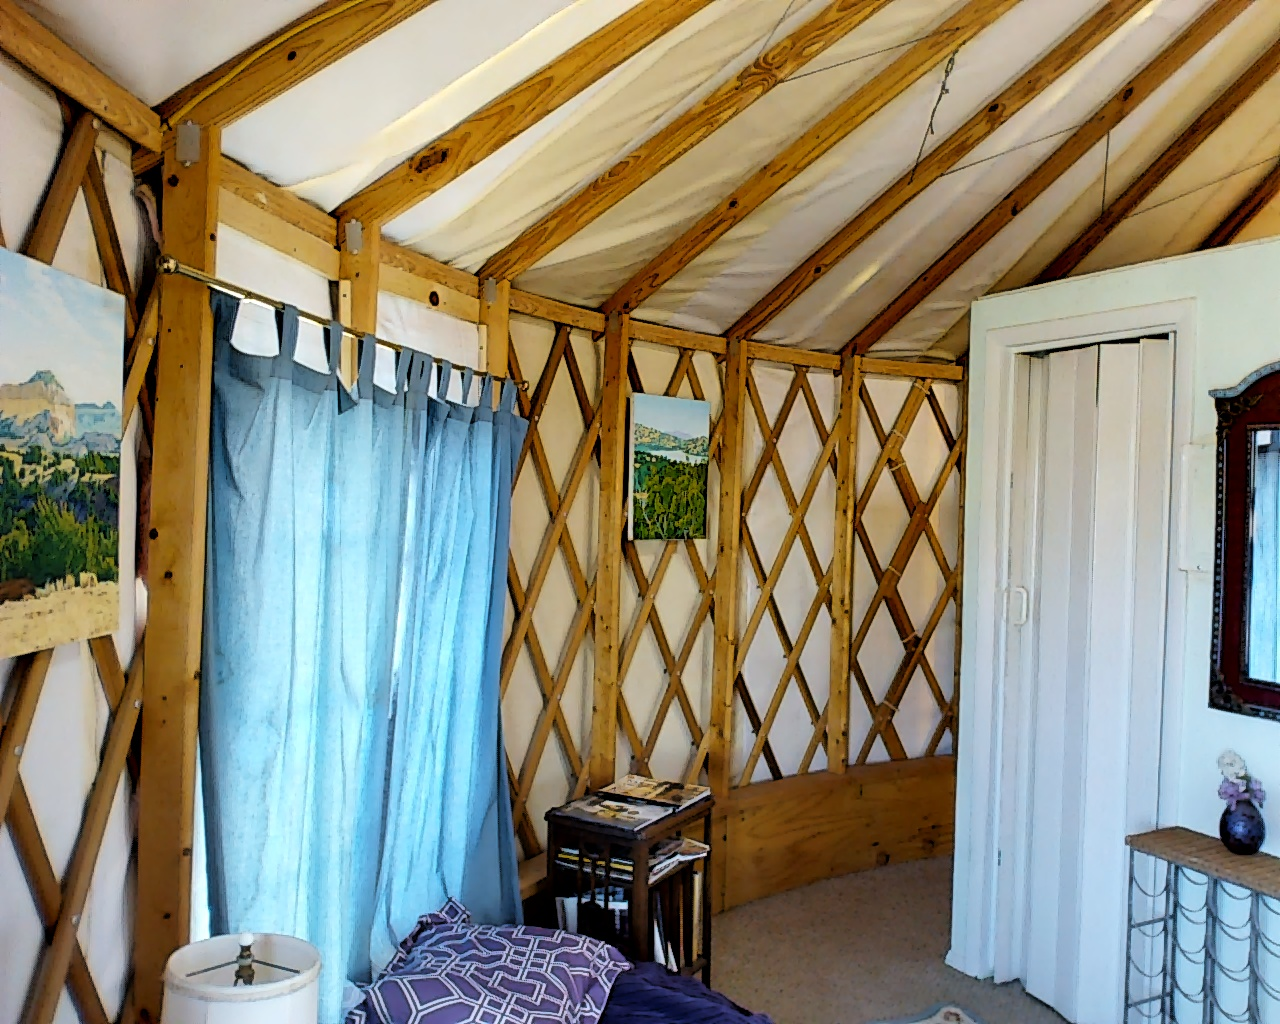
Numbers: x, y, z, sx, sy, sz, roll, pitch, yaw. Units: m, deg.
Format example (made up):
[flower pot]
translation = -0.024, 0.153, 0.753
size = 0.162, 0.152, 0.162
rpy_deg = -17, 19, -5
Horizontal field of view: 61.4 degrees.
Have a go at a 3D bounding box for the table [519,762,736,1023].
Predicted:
[table]
translation = -0.030, 1.150, 3.250
size = 0.440, 0.630, 0.500
rpy_deg = 1, 1, 33

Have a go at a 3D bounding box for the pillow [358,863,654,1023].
[pillow]
translation = -0.260, 1.050, 2.440
size = 0.480, 0.240, 0.730
rpy_deg = 1, 1, 9
